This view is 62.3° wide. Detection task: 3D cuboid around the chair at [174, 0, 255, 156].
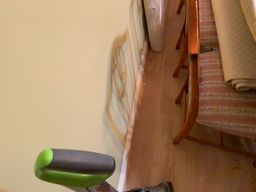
[{"bbox_3d":[0.510,-0.100,1.020,0.490,0.970,0.430,5,59,11],"label":"chair"}]
